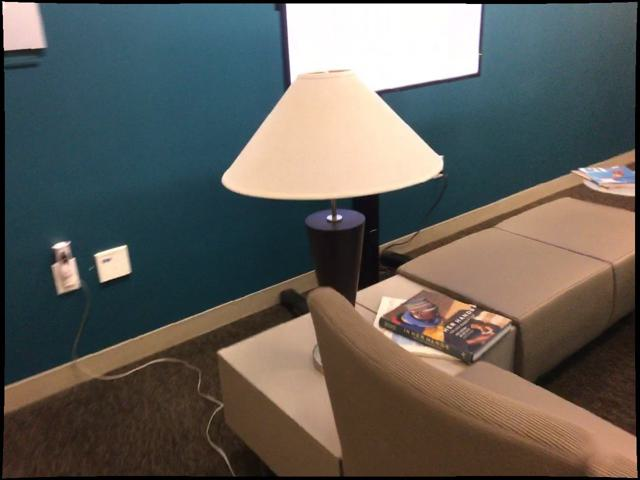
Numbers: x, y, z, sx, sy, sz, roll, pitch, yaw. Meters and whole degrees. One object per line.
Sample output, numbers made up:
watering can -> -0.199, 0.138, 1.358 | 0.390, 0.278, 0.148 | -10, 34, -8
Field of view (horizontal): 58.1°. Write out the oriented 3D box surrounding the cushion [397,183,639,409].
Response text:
cushion -> 0.967, 0.130, 2.350 | 1.228, 0.331, 0.610 | -20, 29, -34
